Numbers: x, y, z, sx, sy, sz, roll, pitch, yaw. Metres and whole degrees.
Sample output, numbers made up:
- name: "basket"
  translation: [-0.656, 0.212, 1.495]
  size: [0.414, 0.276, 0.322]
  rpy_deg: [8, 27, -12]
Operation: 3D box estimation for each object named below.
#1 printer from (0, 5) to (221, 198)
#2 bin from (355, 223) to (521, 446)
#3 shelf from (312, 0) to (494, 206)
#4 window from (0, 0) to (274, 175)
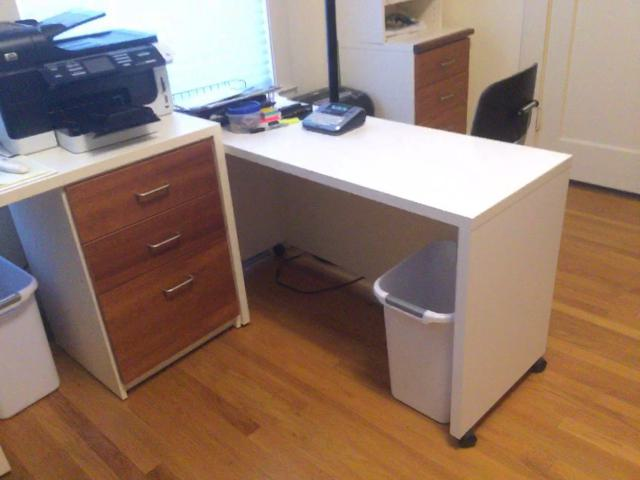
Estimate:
- name: "printer"
  translation: [-0.650, -0.420, 1.590]
  size: [0.500, 0.350, 0.510]
  rpy_deg: [20, 35, 35]
- name: "bin"
  translation: [0.320, 0.240, 1.600]
  size: [0.270, 0.410, 0.380]
  rpy_deg: [20, 35, 34]
- name: "shelf"
  translation: [0.400, -1.330, 2.610]
  size: [0.550, 2.170, 0.720]
  rpy_deg: [20, 35, 35]
- name: "window"
  translation: [-0.600, -1.160, 1.870]
  size: [0.120, 1.670, 1.050]
  rpy_deg: [20, 35, 35]
